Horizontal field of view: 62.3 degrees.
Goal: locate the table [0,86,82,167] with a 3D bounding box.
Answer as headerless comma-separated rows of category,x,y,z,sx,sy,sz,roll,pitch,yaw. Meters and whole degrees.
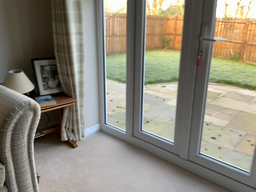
table,-0.830,0.230,2.000,0.540,0.480,0.540,17,23,42
